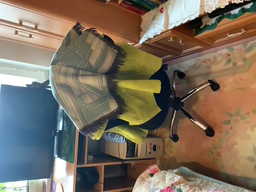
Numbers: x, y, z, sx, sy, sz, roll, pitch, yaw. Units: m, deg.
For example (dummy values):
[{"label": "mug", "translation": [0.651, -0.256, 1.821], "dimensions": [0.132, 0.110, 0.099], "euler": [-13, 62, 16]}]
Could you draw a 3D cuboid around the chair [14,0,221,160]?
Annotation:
[{"label": "chair", "translation": [-0.020, 0.010, 1.500], "dimensions": [0.700, 1.240, 0.660], "euler": [-6, 79, 54]}]
